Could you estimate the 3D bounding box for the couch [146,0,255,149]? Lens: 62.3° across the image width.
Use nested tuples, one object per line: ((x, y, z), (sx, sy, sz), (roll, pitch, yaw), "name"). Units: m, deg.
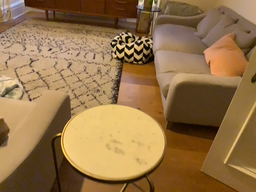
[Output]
((0.800, -0.510, 2.450), (1.070, 0.750, 2.130), (8, 34, 0), "couch")
